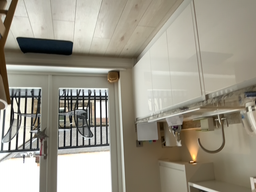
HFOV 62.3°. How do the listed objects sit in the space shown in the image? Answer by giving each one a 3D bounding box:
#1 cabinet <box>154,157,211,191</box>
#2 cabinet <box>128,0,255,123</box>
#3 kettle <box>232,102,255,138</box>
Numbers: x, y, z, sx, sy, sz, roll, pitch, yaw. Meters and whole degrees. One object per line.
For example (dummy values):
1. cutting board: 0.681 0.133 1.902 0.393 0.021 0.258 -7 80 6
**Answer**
1. cabinet: 0.590 1.130 2.360 0.320 0.790 0.650 0 169 -16
2. cabinet: 0.750 -0.400 1.340 0.600 0.890 3.230 0 169 -16
3. kettle: 0.780 0.150 1.280 0.140 0.200 0.210 1 168 -18
